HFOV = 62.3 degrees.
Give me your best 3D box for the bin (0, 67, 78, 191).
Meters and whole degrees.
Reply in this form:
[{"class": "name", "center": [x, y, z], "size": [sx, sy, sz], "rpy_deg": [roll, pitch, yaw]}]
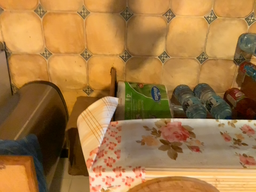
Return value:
[{"class": "bin", "center": [-0.470, 0.220, 0.980], "size": [0.320, 0.710, 0.480], "rpy_deg": [1, 117, -3]}]
